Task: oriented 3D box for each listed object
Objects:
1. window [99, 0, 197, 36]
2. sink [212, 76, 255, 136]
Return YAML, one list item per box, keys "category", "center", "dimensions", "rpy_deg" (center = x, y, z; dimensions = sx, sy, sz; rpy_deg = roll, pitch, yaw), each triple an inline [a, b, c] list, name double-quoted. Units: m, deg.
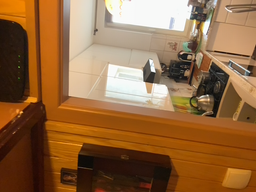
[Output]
- category: "window"
  center: [0.340, -1.570, 3.710]
  dimensions: [0.230, 1.600, 0.750]
  rpy_deg: [-84, 3, -65]
- category: "sink"
  center: [1.060, 0.090, 2.110]
  dimensions: [0.380, 0.190, 0.450]
  rpy_deg: [-85, 3, -67]
